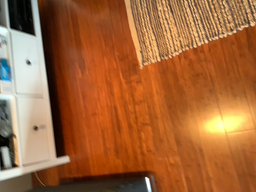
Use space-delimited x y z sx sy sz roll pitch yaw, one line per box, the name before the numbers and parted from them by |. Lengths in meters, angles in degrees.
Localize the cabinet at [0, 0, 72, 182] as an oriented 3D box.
cabinet | -0.960 -0.180 1.640 0.570 0.570 1.520 -18 78 31
